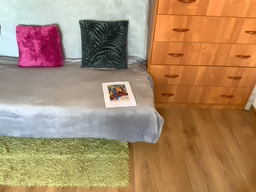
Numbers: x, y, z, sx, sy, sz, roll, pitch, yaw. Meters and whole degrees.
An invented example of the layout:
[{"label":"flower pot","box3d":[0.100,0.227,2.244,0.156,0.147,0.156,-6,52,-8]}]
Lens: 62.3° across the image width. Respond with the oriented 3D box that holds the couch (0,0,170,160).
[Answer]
[{"label":"couch","box3d":[-0.830,-0.280,1.720,2.020,0.950,1.100,3,37,-2]}]
